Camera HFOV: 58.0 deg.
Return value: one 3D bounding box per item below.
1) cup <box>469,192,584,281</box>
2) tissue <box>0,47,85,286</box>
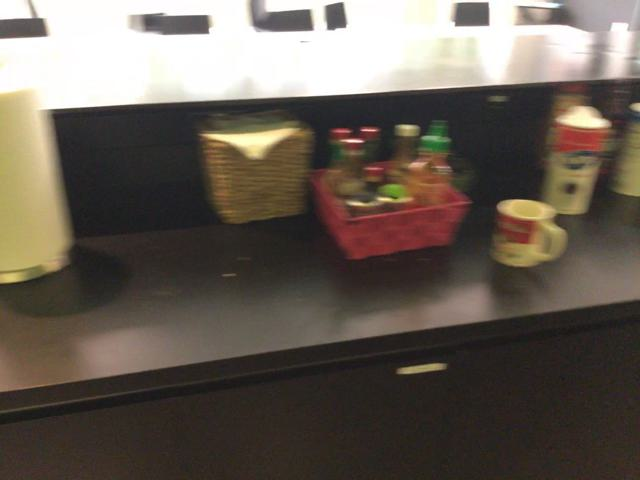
[{"bbox_3d":[0.340,-0.010,0.970,0.110,0.090,0.140,-5,28,-13],"label":"cup"},{"bbox_3d":[-0.500,-0.110,0.890,0.200,0.340,0.130,-5,28,-13],"label":"tissue"}]
